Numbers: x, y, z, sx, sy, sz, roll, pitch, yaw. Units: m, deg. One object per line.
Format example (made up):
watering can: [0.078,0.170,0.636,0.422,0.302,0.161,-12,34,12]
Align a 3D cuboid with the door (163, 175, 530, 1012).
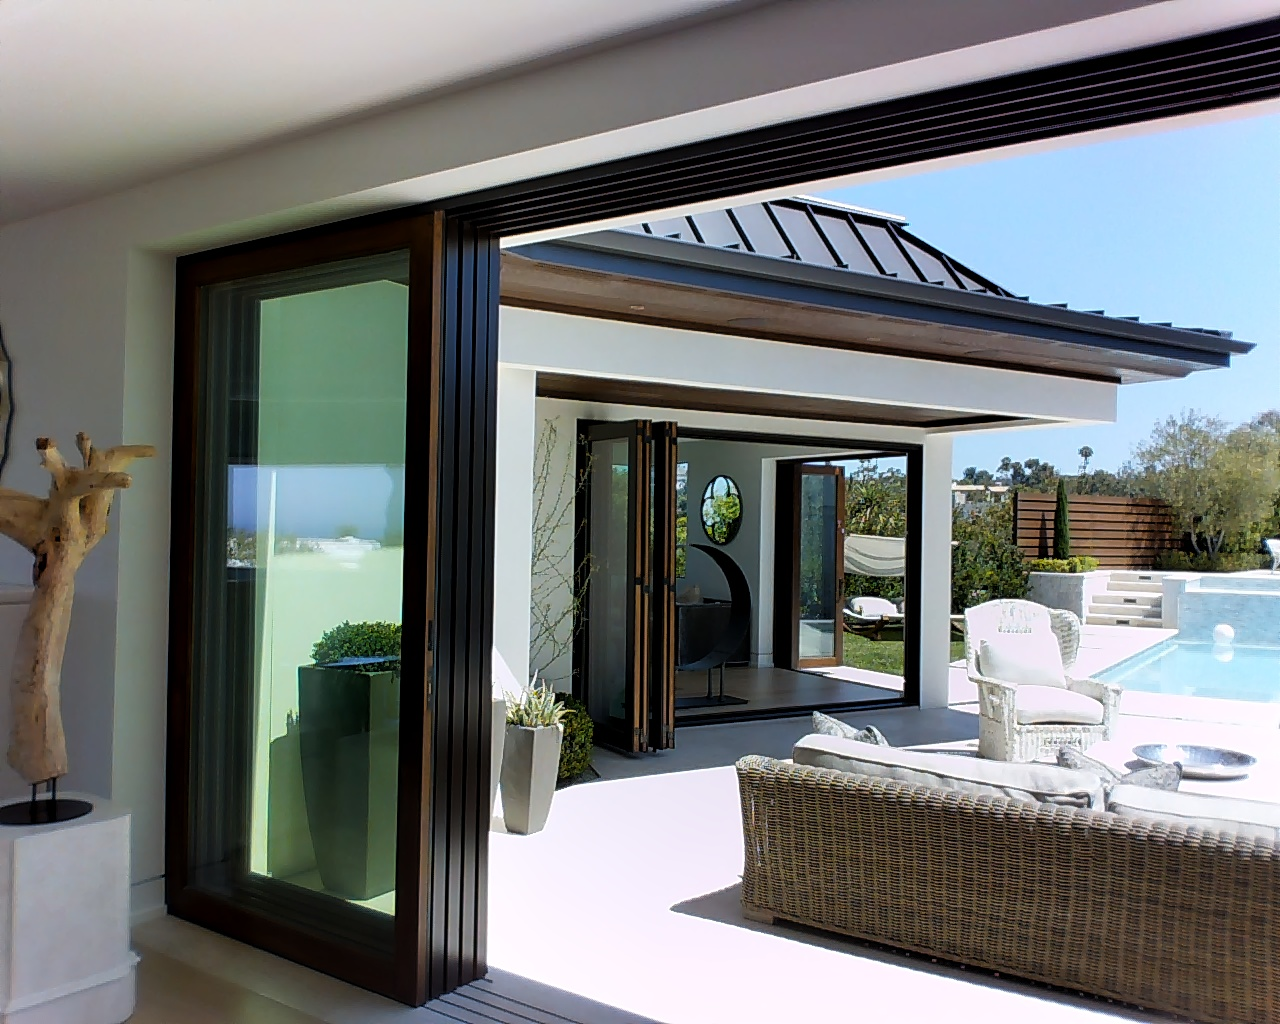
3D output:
door: [-1.130,0.250,3.970,1.530,2.650,0.330,1,-1,34]
